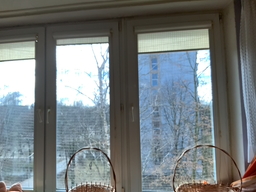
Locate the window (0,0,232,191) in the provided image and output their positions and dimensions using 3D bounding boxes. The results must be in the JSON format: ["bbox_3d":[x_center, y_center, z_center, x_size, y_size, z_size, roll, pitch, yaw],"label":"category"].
[{"bbox_3d":[-0.330,0.060,1.900,2.310,1.690,0.070,-2,-4,6],"label":"window"}]
